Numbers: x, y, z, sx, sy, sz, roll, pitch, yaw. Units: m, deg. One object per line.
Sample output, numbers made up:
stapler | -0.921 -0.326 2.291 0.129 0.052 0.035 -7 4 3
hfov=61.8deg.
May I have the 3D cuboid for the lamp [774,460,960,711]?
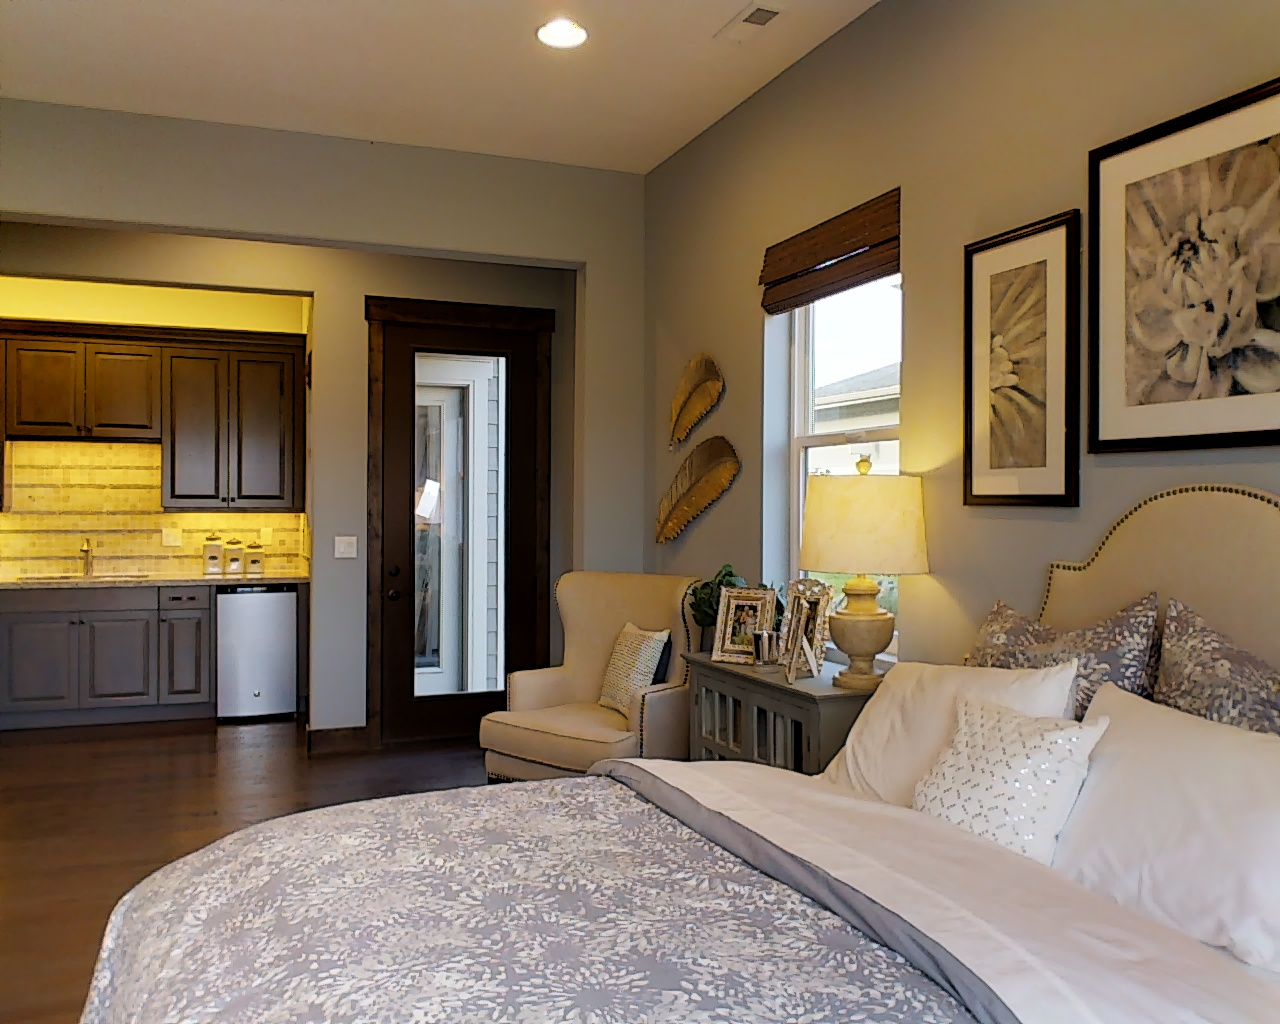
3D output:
lamp | 0.660 0.200 3.150 0.380 0.680 0.380 1 0 -22
